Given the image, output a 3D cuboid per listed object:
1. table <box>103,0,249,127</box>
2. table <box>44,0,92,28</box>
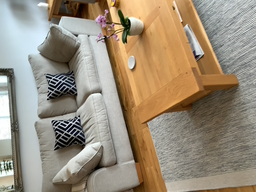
[{"bbox_3d":[0.260,-0.450,1.650,0.640,0.460,1.190,-42,58,51],"label":"table"},{"bbox_3d":[-1.070,-1.700,3.670,0.740,0.580,0.600,-38,61,53],"label":"table"}]
